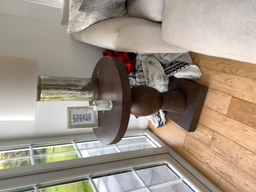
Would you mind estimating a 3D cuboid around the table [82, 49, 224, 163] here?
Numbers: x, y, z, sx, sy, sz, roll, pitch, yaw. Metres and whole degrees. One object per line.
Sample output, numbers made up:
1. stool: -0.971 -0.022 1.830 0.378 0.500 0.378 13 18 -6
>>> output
1. table: 0.130 0.020 1.420 0.530 0.690 0.530 31 116 57
